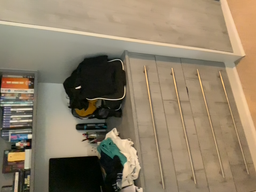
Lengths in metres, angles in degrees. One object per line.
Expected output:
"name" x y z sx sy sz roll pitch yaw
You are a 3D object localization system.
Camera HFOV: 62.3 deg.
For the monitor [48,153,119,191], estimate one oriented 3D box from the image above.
"monitor" -0.260 0.570 1.270 0.540 0.400 0.030 -120 39 -51
